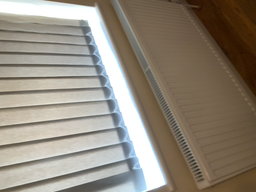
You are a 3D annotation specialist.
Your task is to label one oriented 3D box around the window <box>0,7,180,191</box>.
[{"bbox_3d":[-0.550,-0.030,0.830,0.020,1.380,1.050,-57,47,46],"label":"window"}]
